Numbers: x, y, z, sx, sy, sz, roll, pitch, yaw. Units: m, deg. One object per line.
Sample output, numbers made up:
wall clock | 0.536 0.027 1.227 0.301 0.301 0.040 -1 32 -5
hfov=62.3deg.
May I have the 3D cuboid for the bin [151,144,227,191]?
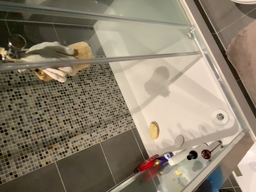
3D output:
bin | 0.390 0.510 1.360 0.290 0.310 0.250 -32 77 42
